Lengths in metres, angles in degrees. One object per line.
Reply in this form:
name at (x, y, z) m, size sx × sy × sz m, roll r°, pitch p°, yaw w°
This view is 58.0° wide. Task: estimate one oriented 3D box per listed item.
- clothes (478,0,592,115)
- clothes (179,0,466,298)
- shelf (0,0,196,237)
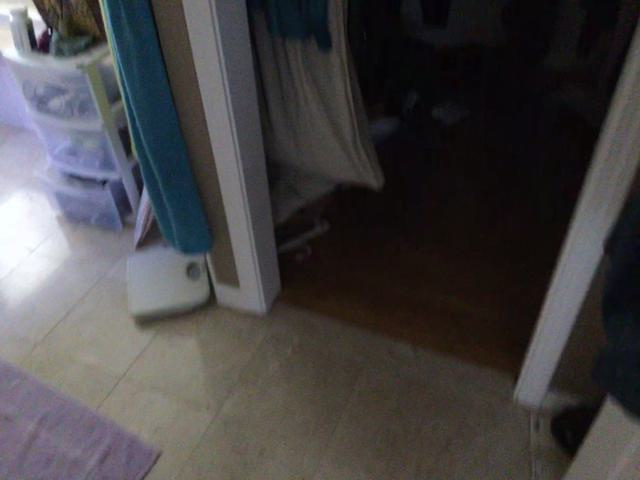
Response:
clothes at (0.900, -0.990, 2.300) m, size 0.320 × 0.770 × 0.520 m, roll 14°, pitch 45°, yaw 16°
clothes at (0.140, -0.910, 1.770) m, size 0.480 × 1.630 × 1.360 m, roll 14°, pitch 45°, yaw 16°
shelf at (-0.780, -0.450, 2.010) m, size 0.420 × 0.690 × 0.430 m, roll 14°, pitch 45°, yaw 16°
